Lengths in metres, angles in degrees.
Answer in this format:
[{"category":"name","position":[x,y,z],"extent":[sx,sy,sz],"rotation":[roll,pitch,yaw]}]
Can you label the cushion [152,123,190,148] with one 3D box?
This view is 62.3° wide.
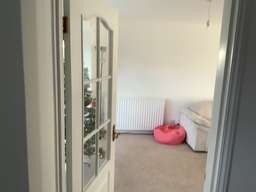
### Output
[{"category":"cushion","position":[0.840,0.790,4.330],"extent":[0.630,0.260,0.630],"rotation":[2,11,-1]}]
